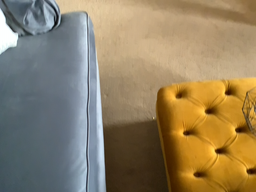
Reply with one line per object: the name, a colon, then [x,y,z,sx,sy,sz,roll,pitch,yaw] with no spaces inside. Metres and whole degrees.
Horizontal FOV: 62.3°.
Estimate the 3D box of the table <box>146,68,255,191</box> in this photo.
table: [0.480,0.350,0.970,0.640,0.360,0.870,-5,67,-4]
